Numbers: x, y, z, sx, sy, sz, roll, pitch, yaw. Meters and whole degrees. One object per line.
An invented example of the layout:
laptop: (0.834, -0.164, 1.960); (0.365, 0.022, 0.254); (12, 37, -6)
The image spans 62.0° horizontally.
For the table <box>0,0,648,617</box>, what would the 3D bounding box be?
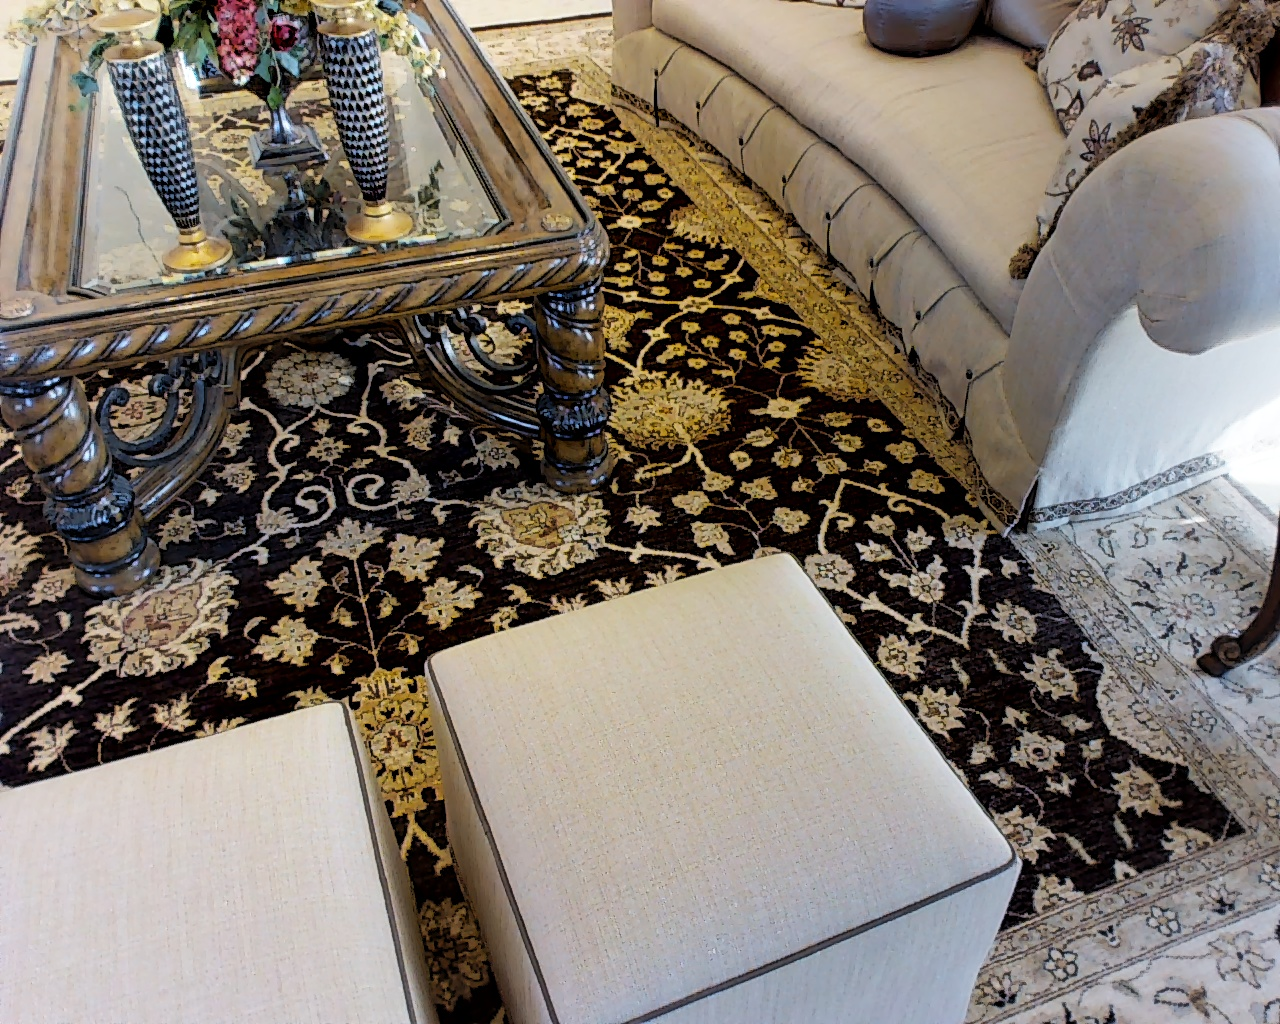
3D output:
table: (-0.810, -0.660, 2.440); (1.150, 0.570, 1.620); (-14, 43, -15)

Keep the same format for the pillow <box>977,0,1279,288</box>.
pillow: (0.930, -0.740, 2.010); (0.330, 0.390, 0.470); (27, 48, 27)
